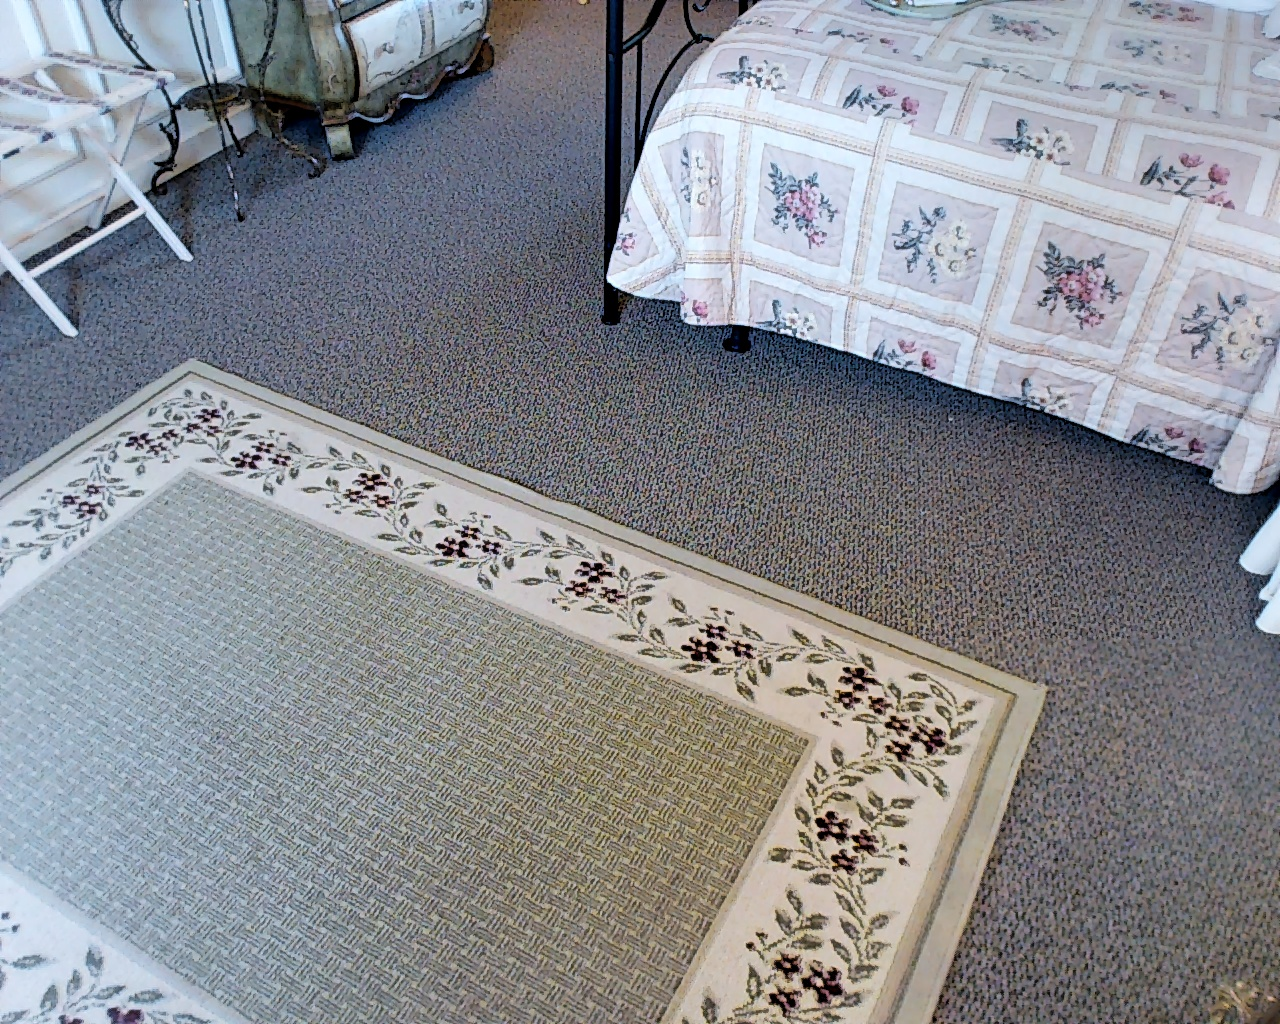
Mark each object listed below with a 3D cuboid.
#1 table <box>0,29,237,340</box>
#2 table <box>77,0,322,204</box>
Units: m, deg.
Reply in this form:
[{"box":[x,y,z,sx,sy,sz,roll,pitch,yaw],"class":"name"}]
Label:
[{"box":[-1.590,-0.910,2.920,0.510,0.500,0.700,17,44,18],"class":"table"},{"box":[-1.330,-1.410,3.240,0.440,0.770,0.390,18,44,19],"class":"table"}]
